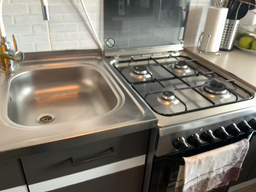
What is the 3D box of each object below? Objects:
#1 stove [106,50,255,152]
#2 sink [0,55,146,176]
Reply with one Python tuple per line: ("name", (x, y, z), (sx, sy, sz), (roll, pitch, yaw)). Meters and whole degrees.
("stove", (0.230, -0.050, 1.020), (0.500, 0.120, 0.620), (-8, 33, -21))
("sink", (-0.250, 0.010, 0.840), (0.450, 0.150, 0.500), (-8, 33, -21))
